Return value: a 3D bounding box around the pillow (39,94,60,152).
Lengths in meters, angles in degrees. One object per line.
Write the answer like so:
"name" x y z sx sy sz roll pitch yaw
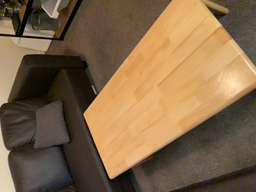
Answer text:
"pillow" -0.750 0.260 2.010 0.350 0.120 0.440 127 132 -57

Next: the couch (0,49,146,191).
"couch" -0.610 0.550 2.000 0.830 0.780 1.780 -42 66 41
